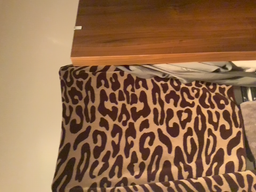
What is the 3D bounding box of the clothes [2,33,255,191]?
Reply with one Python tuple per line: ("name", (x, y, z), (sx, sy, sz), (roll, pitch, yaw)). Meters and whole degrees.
("clothes", (0.610, 0.090, 0.770), (0.280, 1.930, 0.560), (88, 180, -76))
